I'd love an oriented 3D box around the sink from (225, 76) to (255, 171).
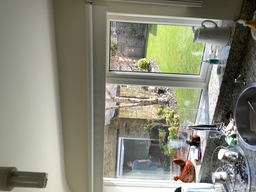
[{"bbox_3d":[0.890,0.170,1.400,0.470,0.170,0.460,-92,6,-64],"label":"sink"}]
